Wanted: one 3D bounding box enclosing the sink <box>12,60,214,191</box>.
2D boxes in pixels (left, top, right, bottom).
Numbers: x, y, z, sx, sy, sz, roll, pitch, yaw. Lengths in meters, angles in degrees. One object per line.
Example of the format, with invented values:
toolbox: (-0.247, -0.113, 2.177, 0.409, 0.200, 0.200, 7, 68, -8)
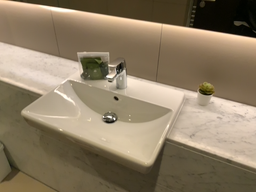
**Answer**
sink: (-0.030, 0.080, 0.910, 0.670, 0.150, 0.490, 16, 39, 19)
